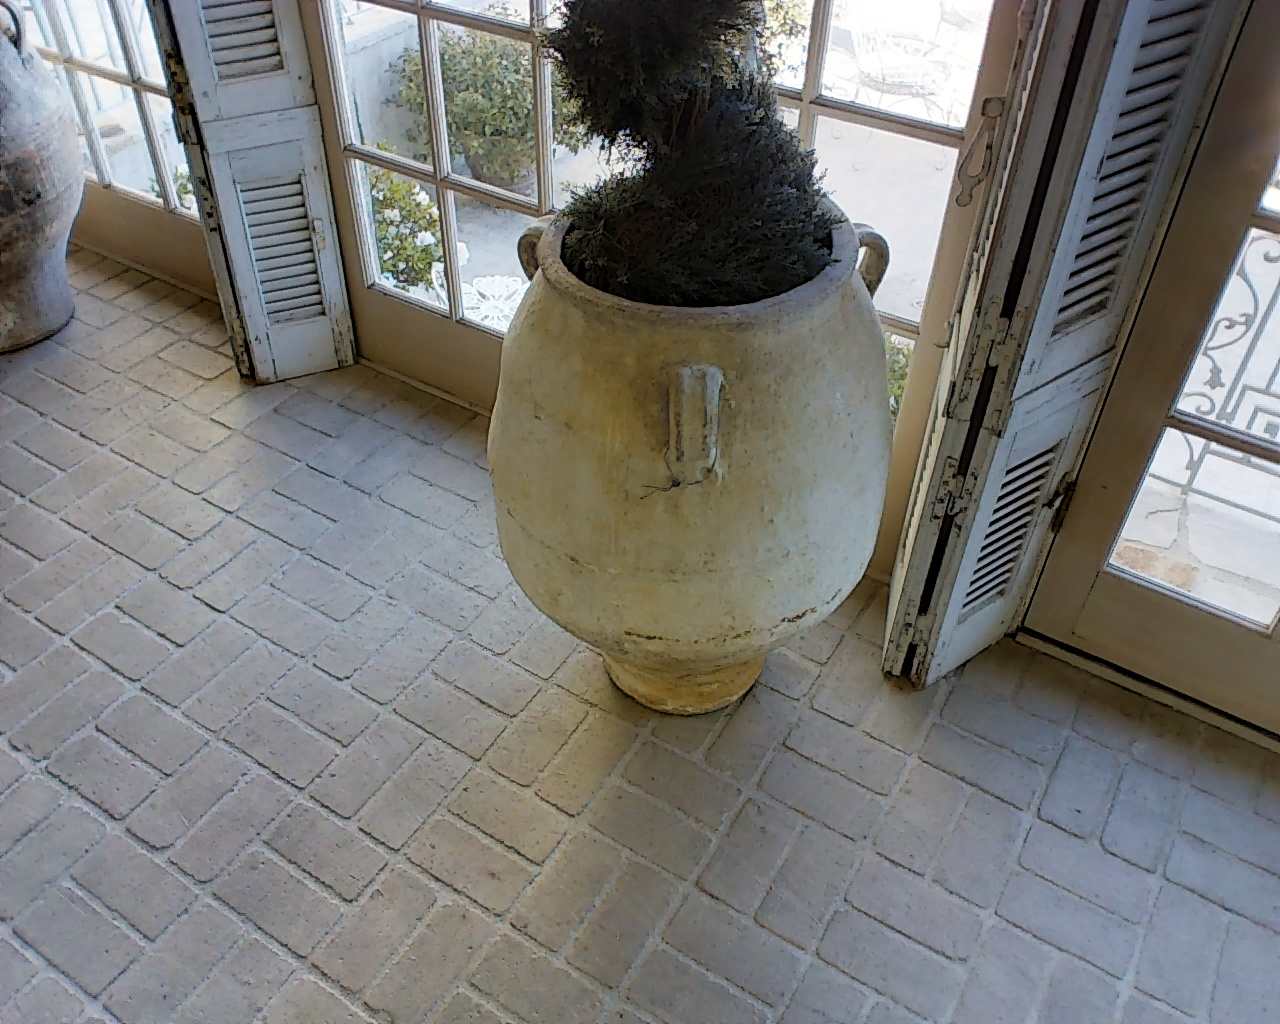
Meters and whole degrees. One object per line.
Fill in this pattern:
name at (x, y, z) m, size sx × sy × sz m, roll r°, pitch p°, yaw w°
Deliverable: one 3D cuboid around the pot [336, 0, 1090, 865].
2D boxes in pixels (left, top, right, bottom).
pot at (0.120, -0.230, 1.700) m, size 0.650 × 1.300 × 0.740 m, roll 25°, pitch 47°, yaw 24°
